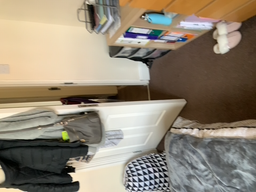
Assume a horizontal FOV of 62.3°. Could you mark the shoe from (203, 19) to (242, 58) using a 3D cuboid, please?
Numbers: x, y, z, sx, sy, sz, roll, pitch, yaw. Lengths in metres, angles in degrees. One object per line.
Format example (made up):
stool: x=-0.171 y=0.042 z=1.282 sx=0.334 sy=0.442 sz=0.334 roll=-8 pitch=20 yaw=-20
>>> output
shoe: x=0.730 y=-0.440 z=1.660 sx=0.260 sy=0.070 sz=0.180 roll=-36 pitch=60 yaw=58

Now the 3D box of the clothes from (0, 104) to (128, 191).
clothes: x=-0.610 y=0.490 z=1.600 sx=0.770 sy=0.920 sz=0.450 roll=-59 pitch=42 yaw=46
